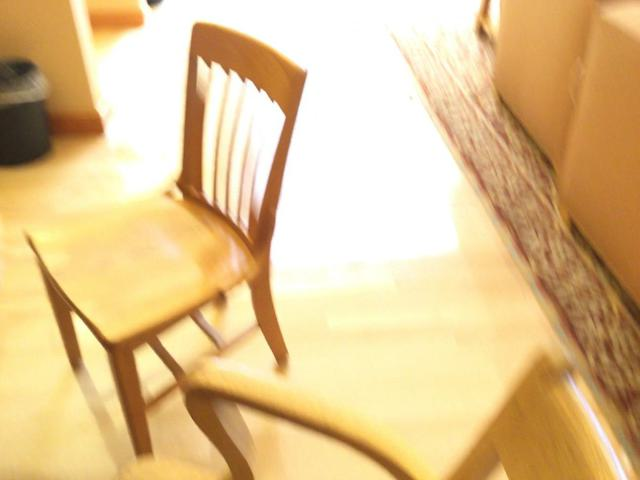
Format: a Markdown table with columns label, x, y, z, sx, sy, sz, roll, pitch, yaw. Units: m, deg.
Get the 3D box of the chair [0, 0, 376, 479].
| label | x | y | z | sx | sy | sz | roll | pitch | yaw |
| --- | --- | --- | --- | --- | --- | --- | --- | --- | --- |
| chair | -0.350 | -0.020 | 1.300 | 0.720 | 0.910 | 0.560 | -27 | 45 | -30 |
